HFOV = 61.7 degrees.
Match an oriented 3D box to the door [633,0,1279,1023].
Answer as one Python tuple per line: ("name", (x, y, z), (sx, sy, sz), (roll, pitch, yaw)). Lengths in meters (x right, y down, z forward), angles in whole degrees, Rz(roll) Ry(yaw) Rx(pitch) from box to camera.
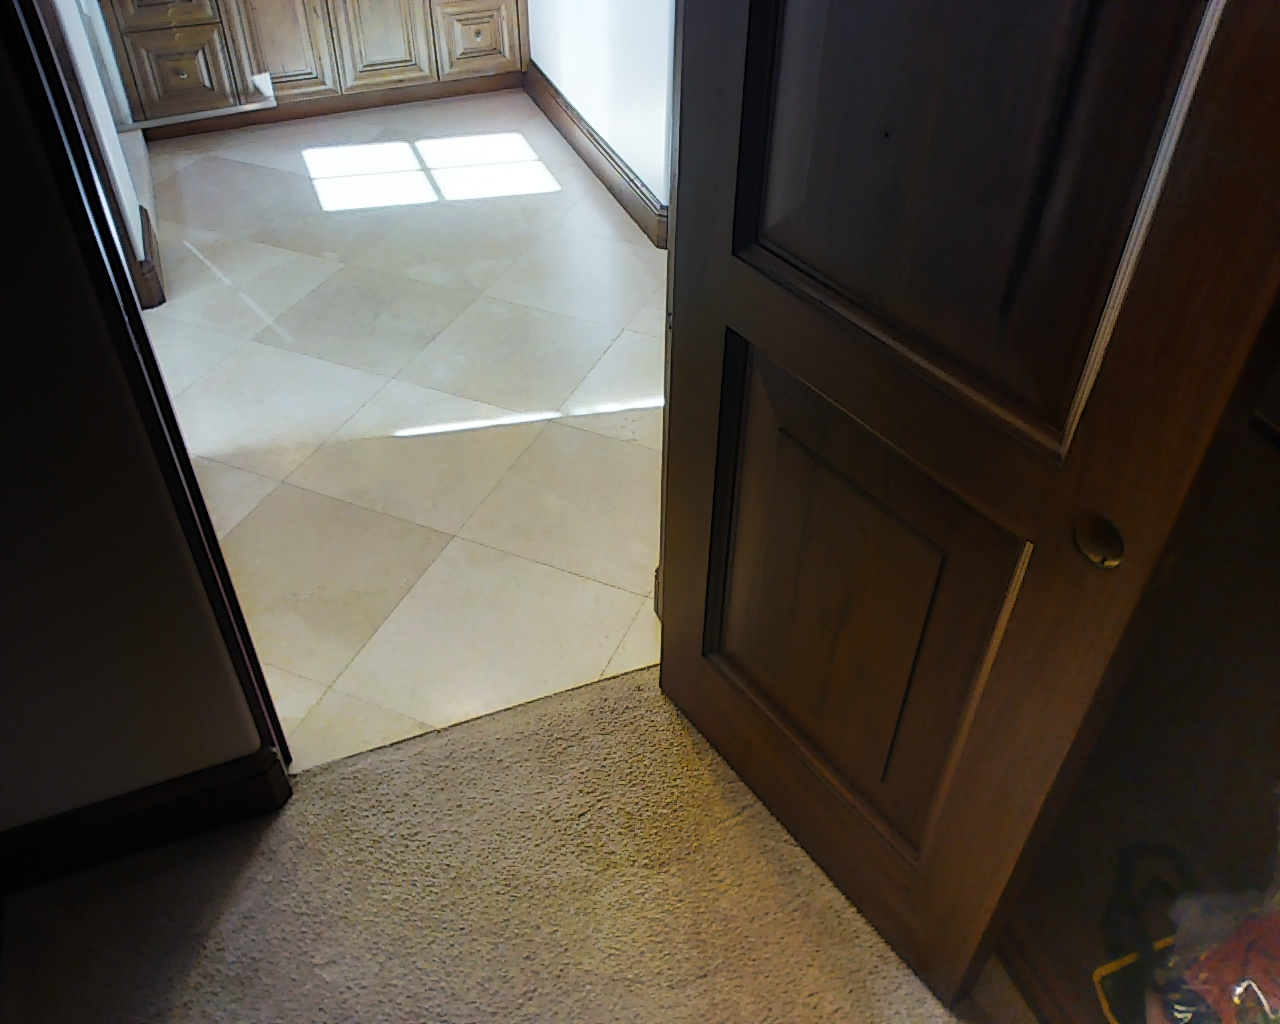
("door", (0.260, -0.370, 1.010), (0.060, 2.400, 0.860), (-24, 47, -25))
